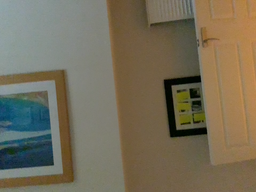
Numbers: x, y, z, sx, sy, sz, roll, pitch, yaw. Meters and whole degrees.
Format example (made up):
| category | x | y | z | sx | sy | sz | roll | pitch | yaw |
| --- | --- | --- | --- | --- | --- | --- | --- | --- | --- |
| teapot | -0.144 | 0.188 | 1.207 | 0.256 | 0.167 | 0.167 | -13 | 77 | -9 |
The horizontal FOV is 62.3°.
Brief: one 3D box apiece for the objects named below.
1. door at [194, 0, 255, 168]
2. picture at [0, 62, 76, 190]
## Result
| category | x | y | z | sx | sy | sz | roll | pitch | yaw |
| --- | --- | --- | --- | --- | --- | --- | --- | --- | --- |
| door | 1.100 | -0.520 | 1.850 | 0.990 | 2.120 | 0.070 | -6 | 179 | -9 |
| picture | -0.880 | 0.250 | 1.680 | 0.830 | 0.940 | 0.050 | -6 | 179 | 0 |
